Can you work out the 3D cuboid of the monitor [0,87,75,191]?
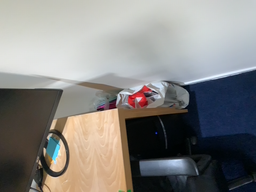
[{"bbox_3d":[-0.450,0.260,0.760,0.030,0.420,0.630,33,111,31],"label":"monitor"}]
